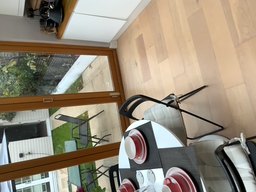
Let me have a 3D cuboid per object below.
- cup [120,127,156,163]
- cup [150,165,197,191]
[{"bbox_3d":[0.070,0.390,1.670,0.280,0.110,0.230,-32,66,56],"label":"cup"},{"bbox_3d":[0.270,0.550,1.250,0.270,0.090,0.250,-33,66,56],"label":"cup"}]
